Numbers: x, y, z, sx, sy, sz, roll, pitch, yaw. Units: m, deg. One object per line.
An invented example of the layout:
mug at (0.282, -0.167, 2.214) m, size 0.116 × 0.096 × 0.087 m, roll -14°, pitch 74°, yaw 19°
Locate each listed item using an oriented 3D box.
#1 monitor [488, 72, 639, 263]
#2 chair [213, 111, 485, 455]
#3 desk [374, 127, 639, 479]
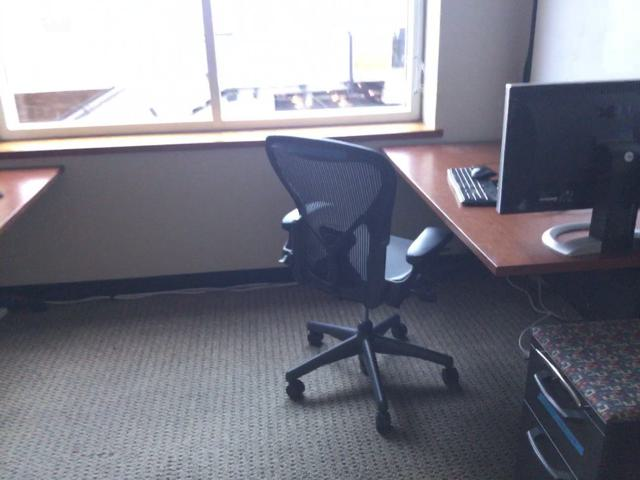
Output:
monitor at (0.800, -0.220, 1.600) m, size 0.590 × 0.450 × 0.250 m, roll -6°, pitch 16°, yaw -3°
chair at (0.170, 0.080, 2.120) m, size 0.710 × 0.990 × 0.690 m, roll 3°, pitch 18°, yaw 27°
desk at (0.740, 0.100, 2.330) m, size 0.740 × 0.910 × 1.540 m, roll -6°, pitch 16°, yaw -3°
